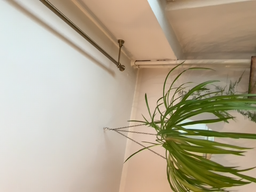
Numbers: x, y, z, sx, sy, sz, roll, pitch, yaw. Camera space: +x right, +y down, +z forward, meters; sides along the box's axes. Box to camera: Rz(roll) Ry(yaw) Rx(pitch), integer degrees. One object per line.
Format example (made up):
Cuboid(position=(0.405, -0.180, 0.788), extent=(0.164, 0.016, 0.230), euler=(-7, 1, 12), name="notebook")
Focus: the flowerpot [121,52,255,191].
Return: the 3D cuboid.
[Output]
Cuboid(position=(0.520, 0.220, 1.060), extent=(0.530, 0.880, 0.710), euler=(28, -112, -62), name="flowerpot")
